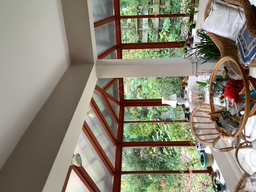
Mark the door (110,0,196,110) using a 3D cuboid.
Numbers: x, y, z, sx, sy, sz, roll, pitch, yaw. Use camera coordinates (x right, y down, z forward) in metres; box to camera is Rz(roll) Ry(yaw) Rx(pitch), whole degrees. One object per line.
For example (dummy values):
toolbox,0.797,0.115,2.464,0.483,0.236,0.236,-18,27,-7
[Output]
door,0.550,-1.630,4.780,0.160,1.820,4.360,-90,-1,-64
